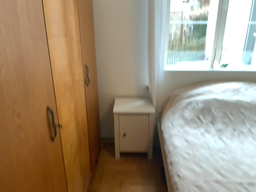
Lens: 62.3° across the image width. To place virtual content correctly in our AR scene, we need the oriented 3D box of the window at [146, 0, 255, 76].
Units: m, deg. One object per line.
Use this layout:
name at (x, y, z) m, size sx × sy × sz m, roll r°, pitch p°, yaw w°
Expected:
window at (1.070, -1.220, 2.510) m, size 1.630 × 1.970 × 0.200 m, roll 1°, pitch 22°, yaw 1°

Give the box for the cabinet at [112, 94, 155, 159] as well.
cabinet at (0.060, 0.350, 2.500) m, size 0.450 × 0.650 × 0.390 m, roll 1°, pitch 22°, yaw 2°

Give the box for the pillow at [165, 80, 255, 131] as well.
pillow at (1.130, 0.070, 2.070) m, size 1.440 × 0.300 × 0.540 m, roll 0°, pitch 22°, yaw 0°
